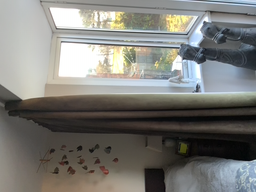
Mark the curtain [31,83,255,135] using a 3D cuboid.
[{"bbox_3d":[0.460,0.140,1.700,0.450,2.200,0.290,110,160,-72],"label":"curtain"}]
